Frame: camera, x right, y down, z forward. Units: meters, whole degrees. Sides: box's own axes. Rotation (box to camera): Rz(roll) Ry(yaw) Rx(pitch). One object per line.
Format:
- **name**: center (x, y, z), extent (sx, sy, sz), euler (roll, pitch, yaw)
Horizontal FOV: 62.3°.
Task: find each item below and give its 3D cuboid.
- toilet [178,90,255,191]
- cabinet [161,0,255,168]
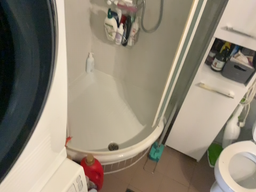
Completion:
- **toilet**: center (0.820, 0.390, 1.410), extent (0.650, 0.800, 0.420), euler (-23, 52, -32)
- **cabinet**: center (0.620, -0.220, 1.290), extent (0.310, 1.800, 0.330), euler (25, 44, 15)
